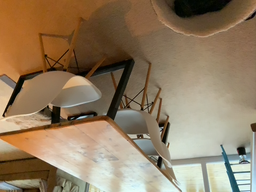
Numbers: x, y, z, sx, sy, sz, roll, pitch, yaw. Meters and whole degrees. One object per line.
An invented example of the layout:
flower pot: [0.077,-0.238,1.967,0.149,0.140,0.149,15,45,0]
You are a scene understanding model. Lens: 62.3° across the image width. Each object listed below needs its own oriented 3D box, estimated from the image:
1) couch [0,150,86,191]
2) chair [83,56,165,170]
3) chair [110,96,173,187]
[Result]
couch: [-1.860,1.710,3.980,1.760,0.890,0.940,-12,142,20]
chair: [0.010,0.150,1.800,0.480,0.780,0.470,-9,143,17]
chair: [0.160,0.480,2.230,0.500,0.800,0.410,-9,143,17]
